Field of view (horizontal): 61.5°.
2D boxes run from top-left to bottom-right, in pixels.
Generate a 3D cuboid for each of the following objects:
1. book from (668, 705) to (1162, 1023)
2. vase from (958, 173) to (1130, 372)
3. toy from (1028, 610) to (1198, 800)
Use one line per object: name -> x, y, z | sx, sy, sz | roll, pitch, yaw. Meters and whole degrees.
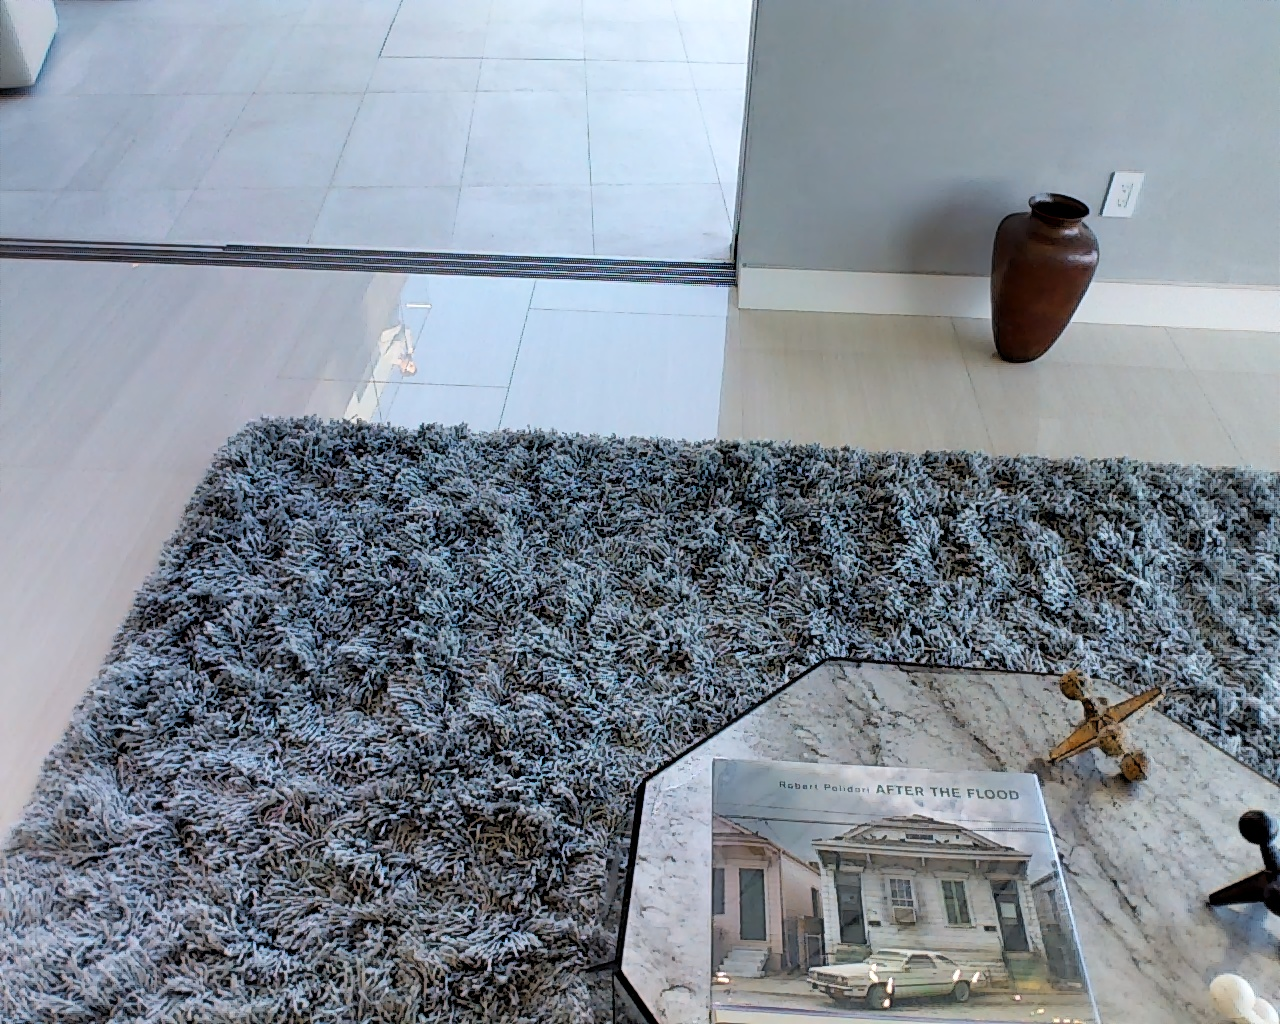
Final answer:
book -> 0.280, 0.400, 1.200 | 0.480, 0.060, 0.380 | 3, 42, 2
vase -> 1.030, -0.620, 2.790 | 0.270, 0.400, 0.300 | 3, 42, 2
toy -> 0.590, 0.240, 1.360 | 0.160, 0.110, 0.180 | 10, 43, 10
